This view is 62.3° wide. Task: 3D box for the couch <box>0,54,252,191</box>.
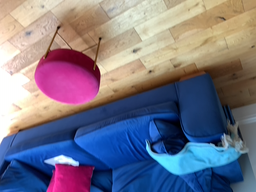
[{"bbox_3d":[-0.260,0.690,2.160,2.500,0.900,1.080,-18,137,24],"label":"couch"}]
